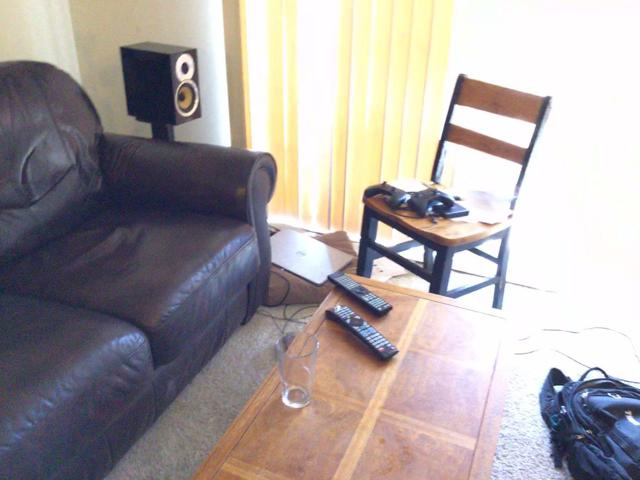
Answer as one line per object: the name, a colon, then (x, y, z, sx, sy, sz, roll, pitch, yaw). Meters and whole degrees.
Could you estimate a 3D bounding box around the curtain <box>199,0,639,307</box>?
curtain: (0.680, -0.520, 2.270, 2.470, 1.310, 0.290, 11, 24, 18)

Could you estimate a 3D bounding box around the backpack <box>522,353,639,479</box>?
backpack: (0.850, 0.540, 1.580, 0.380, 0.180, 0.530, 2, 23, -3)

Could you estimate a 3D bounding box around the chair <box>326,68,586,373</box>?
chair: (0.440, -0.120, 2.090, 0.570, 0.890, 0.560, -12, 27, -32)
